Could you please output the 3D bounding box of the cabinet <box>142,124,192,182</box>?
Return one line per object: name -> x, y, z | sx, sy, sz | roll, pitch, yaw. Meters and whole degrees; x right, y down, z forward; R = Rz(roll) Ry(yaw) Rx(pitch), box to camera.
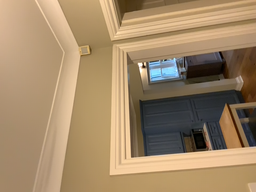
cabinet -> 0.750, 1.140, 4.240 | 0.440, 0.820, 0.960 | 74, -169, -55
